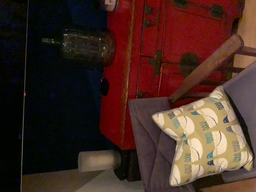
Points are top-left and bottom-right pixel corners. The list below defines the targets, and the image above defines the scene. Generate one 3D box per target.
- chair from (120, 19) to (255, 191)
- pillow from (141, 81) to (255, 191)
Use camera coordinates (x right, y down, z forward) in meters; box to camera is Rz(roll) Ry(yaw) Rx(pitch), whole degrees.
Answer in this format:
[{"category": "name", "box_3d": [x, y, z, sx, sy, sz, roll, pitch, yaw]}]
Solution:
[{"category": "chair", "box_3d": [0.510, 0.150, 1.000, 0.580, 0.860, 0.600, 131, 134, -53]}, {"category": "pillow", "box_3d": [0.330, 0.200, 0.940, 0.350, 0.390, 0.150, 48, 161, 11]}]
